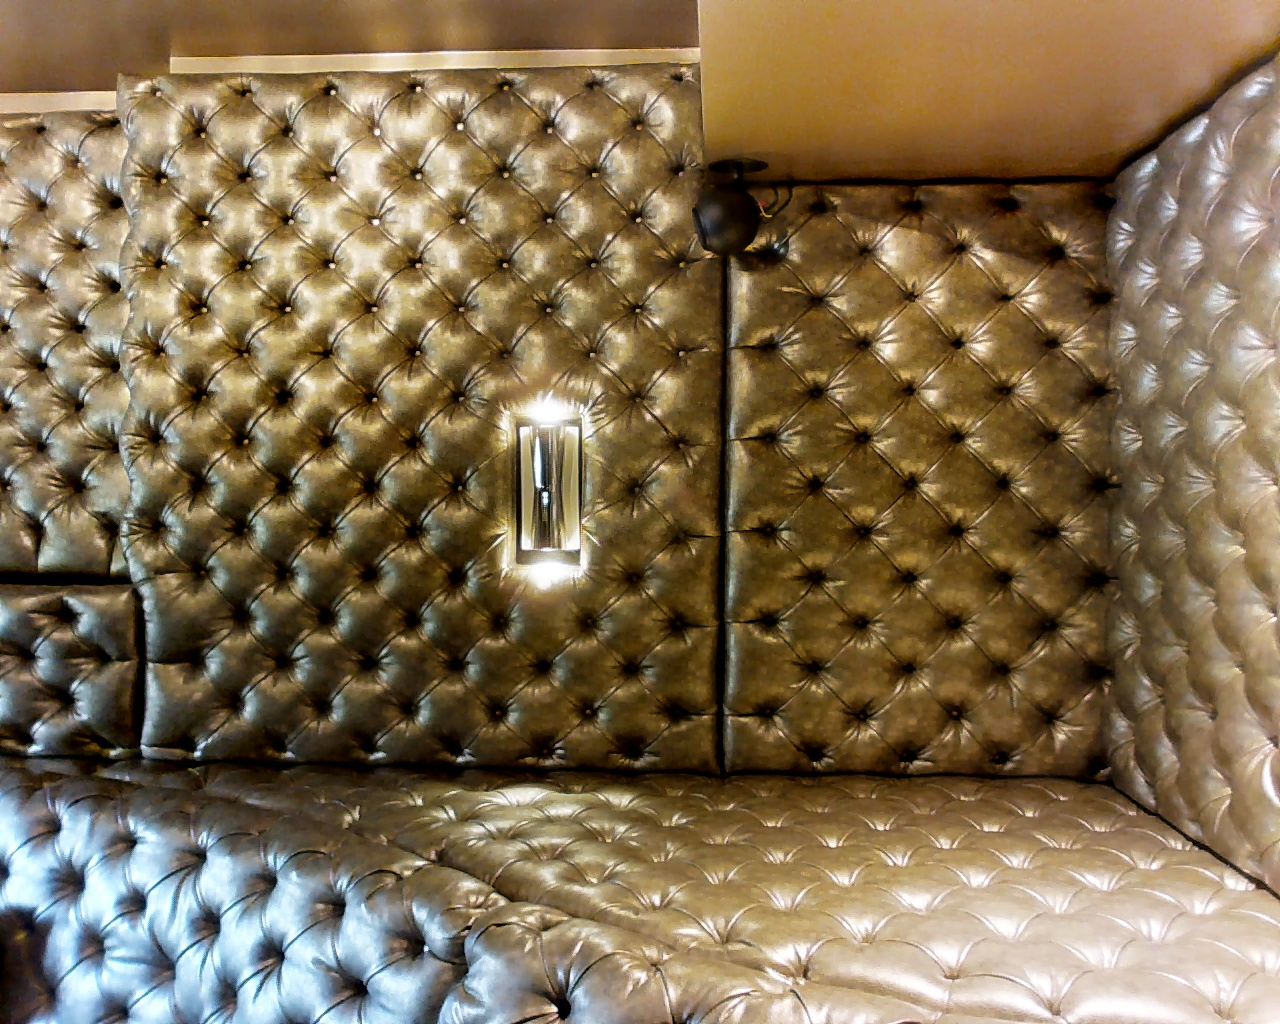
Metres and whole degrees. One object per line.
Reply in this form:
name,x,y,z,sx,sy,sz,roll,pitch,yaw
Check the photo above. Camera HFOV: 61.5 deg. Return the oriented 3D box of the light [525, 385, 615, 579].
light,-0.140,-0.060,2.160,0.170,0.380,0.070,0,1,5
